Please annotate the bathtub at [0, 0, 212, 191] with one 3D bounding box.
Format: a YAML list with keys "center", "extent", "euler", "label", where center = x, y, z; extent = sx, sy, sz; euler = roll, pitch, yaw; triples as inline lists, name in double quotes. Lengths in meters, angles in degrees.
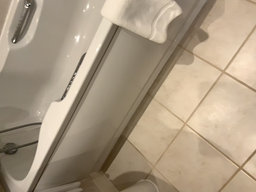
- center: [-0.200, -0.310, 1.150]
  extent: [0.700, 0.580, 1.760]
  euler: [41, 112, 27]
  label: "bathtub"
